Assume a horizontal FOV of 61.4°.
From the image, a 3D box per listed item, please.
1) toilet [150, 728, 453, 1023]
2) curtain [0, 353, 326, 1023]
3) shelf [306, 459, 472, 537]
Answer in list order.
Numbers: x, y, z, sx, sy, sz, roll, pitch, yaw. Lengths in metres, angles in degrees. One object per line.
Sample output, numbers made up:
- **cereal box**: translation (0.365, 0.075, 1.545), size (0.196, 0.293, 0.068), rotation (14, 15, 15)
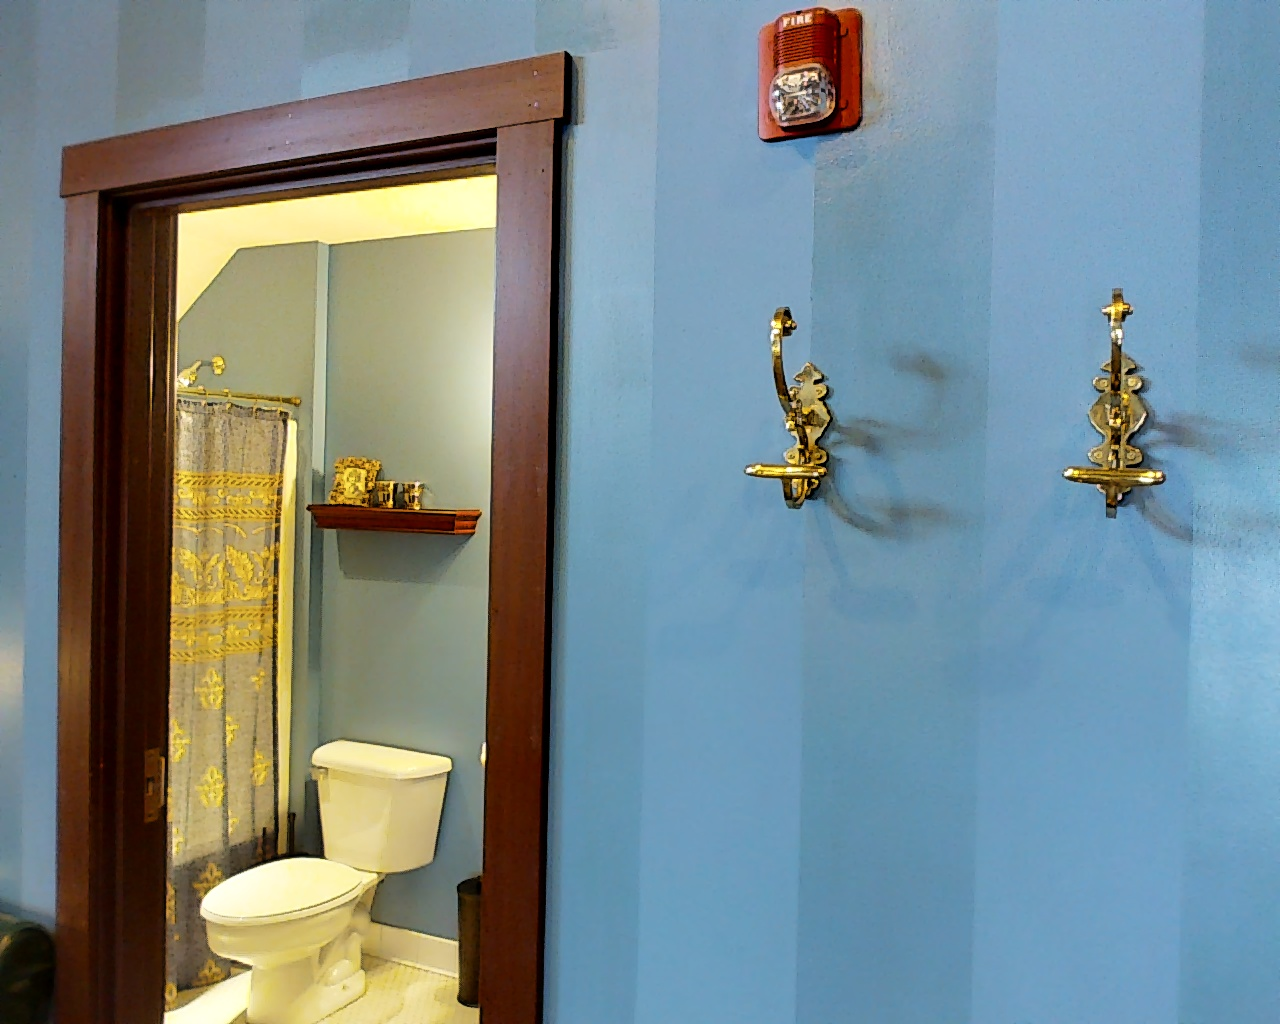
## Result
- **toilet**: translation (-1.000, 1.110, 3.280), size (0.500, 0.720, 0.730), rotation (2, 1, 25)
- **curtain**: translation (-1.480, 0.550, 3.080), size (0.150, 1.880, 1.460), rotation (2, 1, 25)
- **shelf**: translation (-0.840, -0.050, 3.580), size (0.570, 0.240, 0.140), rotation (2, 1, 26)
